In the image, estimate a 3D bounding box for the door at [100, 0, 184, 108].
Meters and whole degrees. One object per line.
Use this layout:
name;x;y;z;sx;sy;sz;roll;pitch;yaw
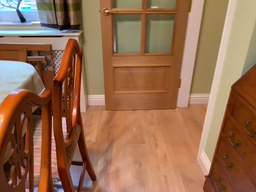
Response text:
door;0.120;-0.740;1.800;0.700;1.900;0.040;-1;28;-4
